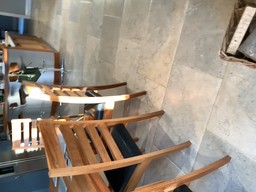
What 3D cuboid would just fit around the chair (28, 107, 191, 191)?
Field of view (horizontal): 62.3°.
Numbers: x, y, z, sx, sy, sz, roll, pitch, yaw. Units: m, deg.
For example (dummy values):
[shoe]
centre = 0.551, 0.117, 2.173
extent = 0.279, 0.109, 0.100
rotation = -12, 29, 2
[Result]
[chair]
centre = -0.150, 0.510, 1.720
extent = 0.460, 1.100, 0.630
rotation = 52, 132, 41
